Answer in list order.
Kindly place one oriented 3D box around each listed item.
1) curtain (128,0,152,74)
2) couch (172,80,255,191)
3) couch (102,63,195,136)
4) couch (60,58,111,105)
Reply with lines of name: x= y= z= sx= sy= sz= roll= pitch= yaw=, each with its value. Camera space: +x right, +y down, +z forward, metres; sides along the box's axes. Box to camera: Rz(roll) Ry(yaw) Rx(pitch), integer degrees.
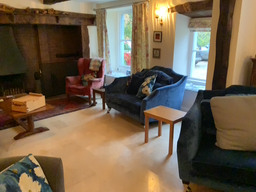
curtain: x=0.250 y=-1.270 z=4.610 sx=0.240 sy=1.520 sz=0.460 roll=-14 pitch=21 yaw=-40
couch: x=1.220 y=0.440 z=2.130 sx=1.290 sy=0.930 sz=1.020 roll=7 pitch=17 yaw=22
couch: x=0.330 y=-0.050 z=3.900 sx=1.090 sy=0.900 sz=1.250 roll=-12 pitch=20 yaw=-35
couch: x=-0.970 y=-0.390 z=5.050 sx=0.730 sy=0.910 sz=0.950 roll=6 pitch=17 yaw=22
